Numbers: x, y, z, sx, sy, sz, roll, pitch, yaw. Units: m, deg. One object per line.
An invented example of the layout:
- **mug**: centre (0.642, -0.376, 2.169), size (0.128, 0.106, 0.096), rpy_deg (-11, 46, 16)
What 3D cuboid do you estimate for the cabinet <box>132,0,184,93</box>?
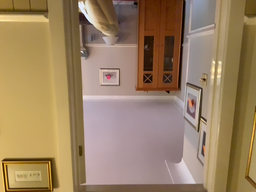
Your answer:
- **cabinet**: centre (0.630, -1.150, 4.840), size (1.050, 2.110, 0.500), rpy_deg (0, -168, -1)
